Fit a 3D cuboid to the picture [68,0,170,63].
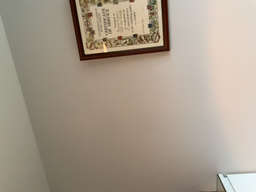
[{"bbox_3d":[-0.040,-0.370,1.050,0.030,0.470,0.360,-76,-20,-69],"label":"picture"}]
